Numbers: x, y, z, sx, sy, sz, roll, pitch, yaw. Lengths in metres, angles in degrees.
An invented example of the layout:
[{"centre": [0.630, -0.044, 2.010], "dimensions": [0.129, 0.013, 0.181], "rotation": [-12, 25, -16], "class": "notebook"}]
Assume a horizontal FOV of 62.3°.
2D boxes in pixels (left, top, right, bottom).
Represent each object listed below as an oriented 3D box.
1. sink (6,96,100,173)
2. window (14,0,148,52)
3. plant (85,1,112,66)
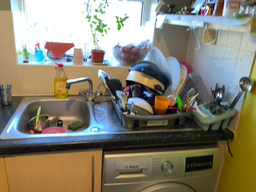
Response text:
[{"centre": [-0.380, 0.170, 1.170], "dimensions": [0.390, 0.190, 0.460], "rotation": [-1, 20, -15], "class": "sink"}, {"centre": [-0.270, -0.810, 1.350], "dimensions": [0.850, 1.000, 0.090], "rotation": [-1, 20, -15], "class": "window"}, {"centre": [-0.200, -0.400, 1.380], "dimensions": [0.150, 0.380, 0.160], "rotation": [-1, 20, -15], "class": "plant"}]
